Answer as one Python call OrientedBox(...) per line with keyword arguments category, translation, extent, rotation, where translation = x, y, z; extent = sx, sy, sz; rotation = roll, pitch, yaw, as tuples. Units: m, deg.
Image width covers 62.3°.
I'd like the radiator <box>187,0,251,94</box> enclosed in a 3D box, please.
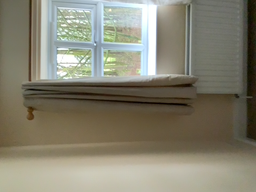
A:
OrientedBox(category="radiator", translation=(0.840, -0.470, 1.960), extent=(0.120, 0.580, 0.900), rotation=(-179, 89, -80))
